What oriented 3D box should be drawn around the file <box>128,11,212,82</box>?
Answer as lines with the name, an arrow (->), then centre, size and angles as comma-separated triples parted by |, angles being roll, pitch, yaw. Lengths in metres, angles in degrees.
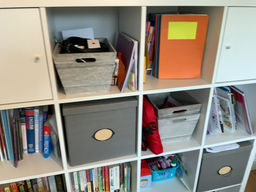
file -> 0.190, -0.280, 1.120 | 0.300, 0.300, 0.320 | -6, 26, -14

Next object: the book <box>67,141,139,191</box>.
book -> -0.140, 0.450, 1.230 | 0.370, 0.290, 0.170 | -3, 25, -9
